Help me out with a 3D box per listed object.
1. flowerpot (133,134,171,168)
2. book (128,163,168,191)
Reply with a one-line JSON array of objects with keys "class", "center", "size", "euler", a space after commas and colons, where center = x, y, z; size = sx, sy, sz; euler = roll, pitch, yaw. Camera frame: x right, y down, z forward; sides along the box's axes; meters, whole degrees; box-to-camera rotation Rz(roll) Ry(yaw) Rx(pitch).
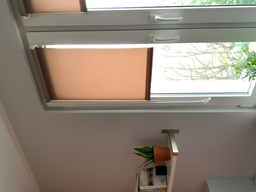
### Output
[{"class": "flowerpot", "center": [0.160, 0.390, 1.500], "size": [0.120, 0.250, 0.220], "euler": [-88, -2, -56]}, {"class": "book", "center": [0.150, 0.730, 1.730], "size": [0.160, 0.290, 0.370], "euler": [-88, -2, -54]}]
